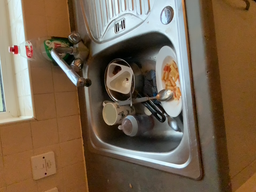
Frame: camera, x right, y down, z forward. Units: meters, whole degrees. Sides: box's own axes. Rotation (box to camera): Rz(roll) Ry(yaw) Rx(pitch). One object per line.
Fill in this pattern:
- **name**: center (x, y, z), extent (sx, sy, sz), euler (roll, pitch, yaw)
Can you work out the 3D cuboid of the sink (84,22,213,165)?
- **sink**: center (0.040, 0.000, 0.730), extent (0.410, 0.150, 0.360), euler (-5, 92, 48)
